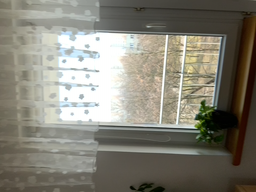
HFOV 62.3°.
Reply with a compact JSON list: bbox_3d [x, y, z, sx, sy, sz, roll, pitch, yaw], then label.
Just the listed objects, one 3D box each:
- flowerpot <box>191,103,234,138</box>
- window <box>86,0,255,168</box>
[{"bbox_3d":[0.580,0.170,1.480,0.160,0.220,0.190,-88,0,-74],"label":"flowerpot"},{"bbox_3d":[0.260,-0.080,1.380,0.160,1.040,1.060,-88,0,-81],"label":"window"}]
